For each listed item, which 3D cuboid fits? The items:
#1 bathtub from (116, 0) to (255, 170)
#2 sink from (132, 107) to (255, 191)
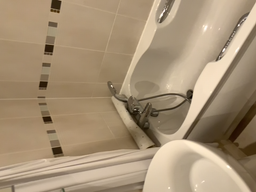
[{"bbox_3d":[0.600,-0.500,1.240,0.720,0.590,1.780,51,130,42],"label":"bathtub"},{"bbox_3d":[0.320,0.420,0.860,0.580,0.200,0.490,51,130,42],"label":"sink"}]
